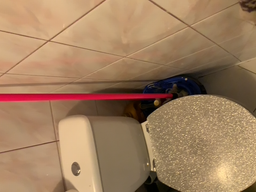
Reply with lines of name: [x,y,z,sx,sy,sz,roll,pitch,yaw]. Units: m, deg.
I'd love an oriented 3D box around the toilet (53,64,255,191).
toilet: [0.220,0.190,0.920,0.640,0.750,0.380,-18,80,35]
